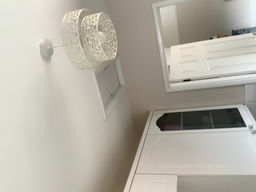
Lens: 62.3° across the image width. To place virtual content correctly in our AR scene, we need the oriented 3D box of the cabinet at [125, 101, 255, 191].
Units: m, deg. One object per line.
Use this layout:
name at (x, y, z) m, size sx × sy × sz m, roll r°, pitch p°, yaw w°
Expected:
cabinet at (0.610, 0.440, 1.870) m, size 1.010 × 1.000 × 0.330 m, roll -58°, pitch -40°, yaw -63°

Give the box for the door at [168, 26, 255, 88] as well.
door at (1.530, -0.540, 2.430) m, size 0.900 × 2.060 × 0.200 m, roll -73°, pitch -28°, yaw -51°

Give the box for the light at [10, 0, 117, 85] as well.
light at (-0.280, -0.280, 1.060) m, size 0.340 × 0.310 × 0.310 m, roll -62°, pitch -37°, yaw -62°
